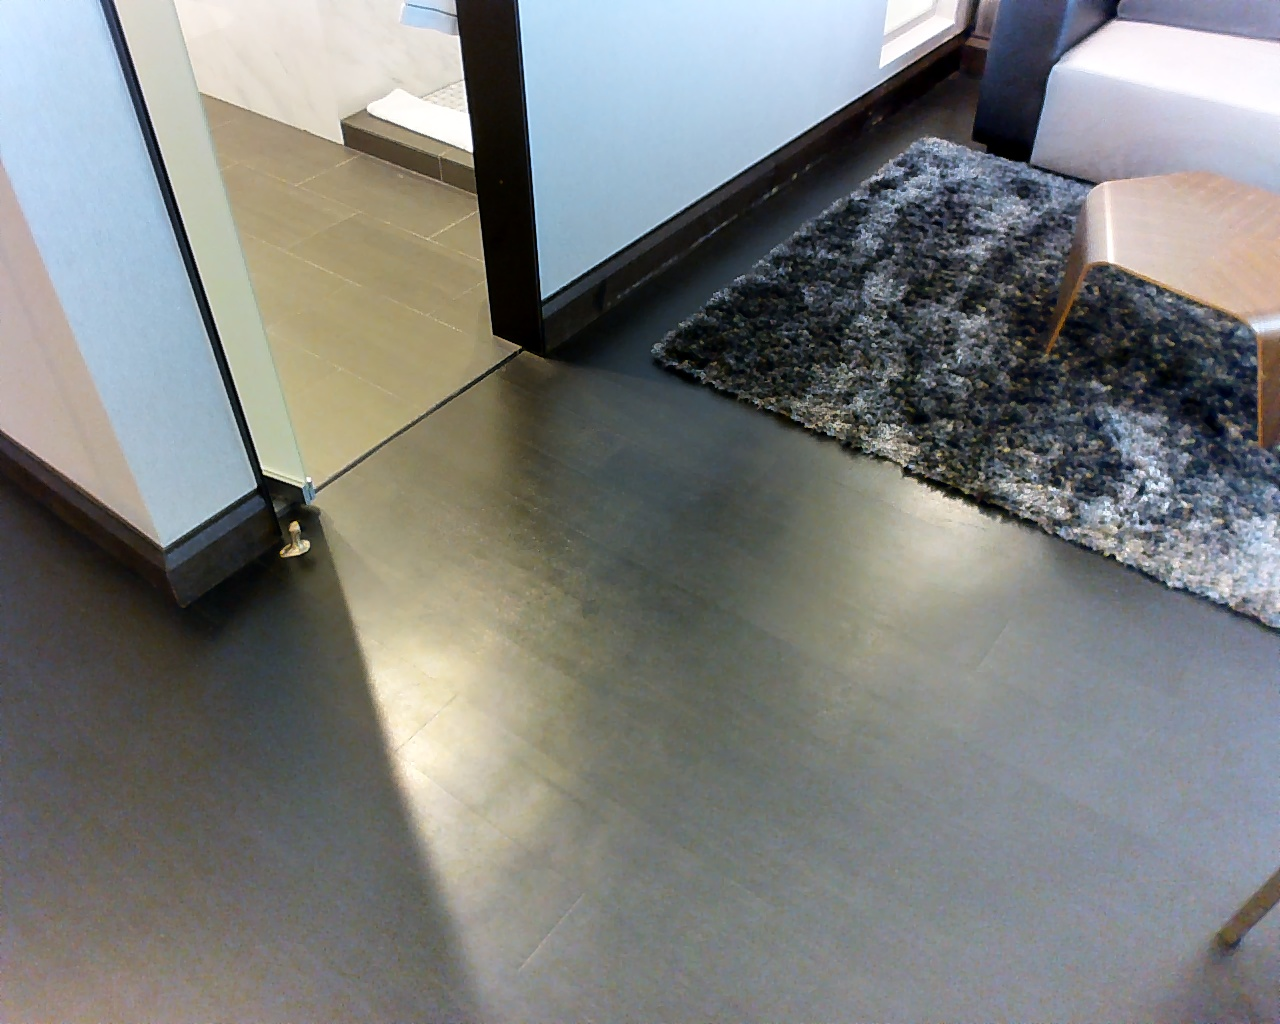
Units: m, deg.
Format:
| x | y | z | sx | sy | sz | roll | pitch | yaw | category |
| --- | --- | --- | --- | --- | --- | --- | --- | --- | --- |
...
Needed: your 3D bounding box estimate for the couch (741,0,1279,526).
| x | y | z | sx | sy | sz | roll | pitch | yaw | category |
| --- | --- | --- | --- | --- | --- | --- | --- | --- | --- |
| 2.010 | -0.740 | 2.530 | 2.870 | 0.720 | 2.000 | 27 | 49 | 27 | couch |
